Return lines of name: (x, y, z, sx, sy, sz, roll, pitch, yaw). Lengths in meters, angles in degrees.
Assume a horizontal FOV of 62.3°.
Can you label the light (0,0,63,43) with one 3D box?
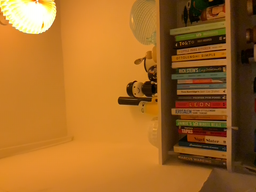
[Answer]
light: (-0.700, -0.600, 1.430, 0.390, 0.380, 0.440, 0, 1, -2)
